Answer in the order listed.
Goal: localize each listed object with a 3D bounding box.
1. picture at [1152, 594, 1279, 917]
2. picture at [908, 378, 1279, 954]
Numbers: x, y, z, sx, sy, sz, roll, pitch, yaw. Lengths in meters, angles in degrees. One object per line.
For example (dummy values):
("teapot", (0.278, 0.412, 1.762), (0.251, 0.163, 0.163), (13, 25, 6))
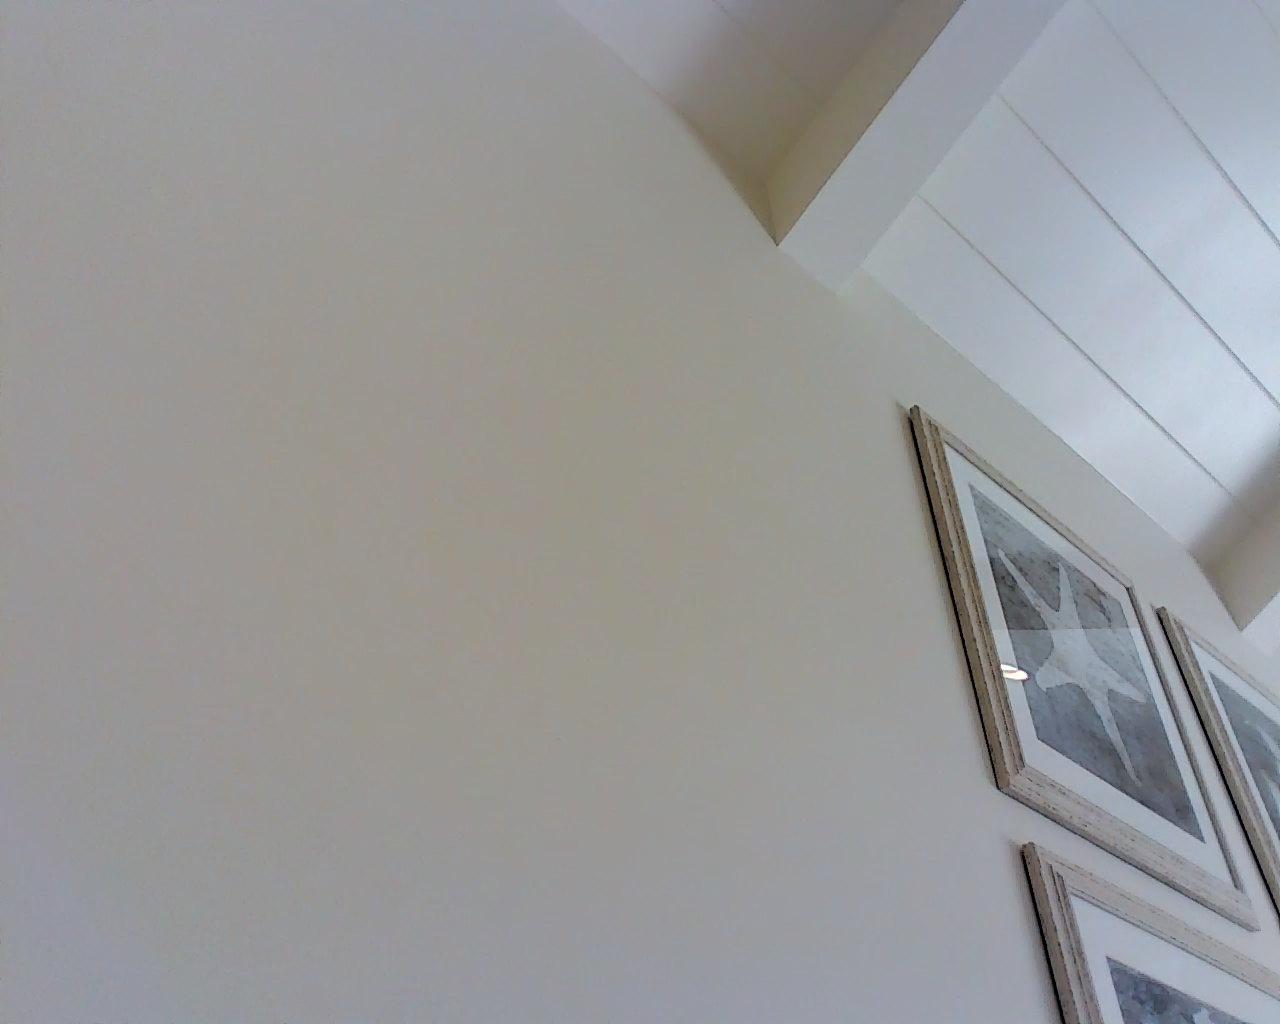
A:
("picture", (1.109, 0.500, 1.770), (0.610, 0.590, 0.030), (31, -50, -30))
("picture", (0.620, 0.200, 1.430), (0.640, 0.640, 0.020), (31, -50, -30))
